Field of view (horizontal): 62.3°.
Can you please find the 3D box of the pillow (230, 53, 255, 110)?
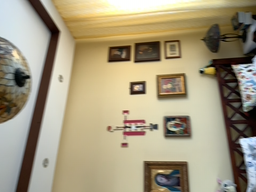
[{"bbox_3d":[1.380,-0.160,2.390,0.310,0.260,0.560,69,-159,-63],"label":"pillow"}]
